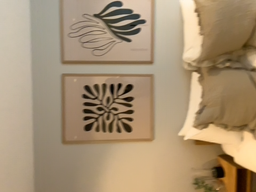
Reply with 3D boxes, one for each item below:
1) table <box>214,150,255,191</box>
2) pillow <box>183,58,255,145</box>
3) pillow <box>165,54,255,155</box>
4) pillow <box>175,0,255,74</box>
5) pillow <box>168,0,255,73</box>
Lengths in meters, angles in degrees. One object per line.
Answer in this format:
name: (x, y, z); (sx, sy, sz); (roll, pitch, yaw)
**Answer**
table: (1.150, 0.750, 1.920); (0.290, 0.610, 0.430); (-150, 60, -84)
pillow: (0.680, 0.030, 1.480); (0.160, 0.410, 0.450); (-131, 16, -81)
pillow: (0.650, 0.060, 1.640); (0.610, 0.420, 0.190); (55, 178, -7)
pillow: (0.640, -0.500, 1.390); (0.180, 0.450, 0.560); (-146, 32, -84)
pillow: (0.670, -0.560, 1.570); (0.620, 0.470, 0.210); (61, 178, -9)
